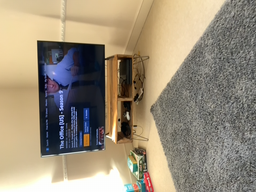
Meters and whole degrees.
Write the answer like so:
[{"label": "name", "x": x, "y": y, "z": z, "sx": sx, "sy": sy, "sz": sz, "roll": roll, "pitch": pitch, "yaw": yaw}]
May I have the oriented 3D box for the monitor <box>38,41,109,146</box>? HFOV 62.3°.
[{"label": "monitor", "x": -0.590, "y": -0.030, "z": 2.400, "sx": 0.070, "sy": 0.760, "sz": 1.110, "roll": -167, "pitch": 77, "yaw": -69}]
